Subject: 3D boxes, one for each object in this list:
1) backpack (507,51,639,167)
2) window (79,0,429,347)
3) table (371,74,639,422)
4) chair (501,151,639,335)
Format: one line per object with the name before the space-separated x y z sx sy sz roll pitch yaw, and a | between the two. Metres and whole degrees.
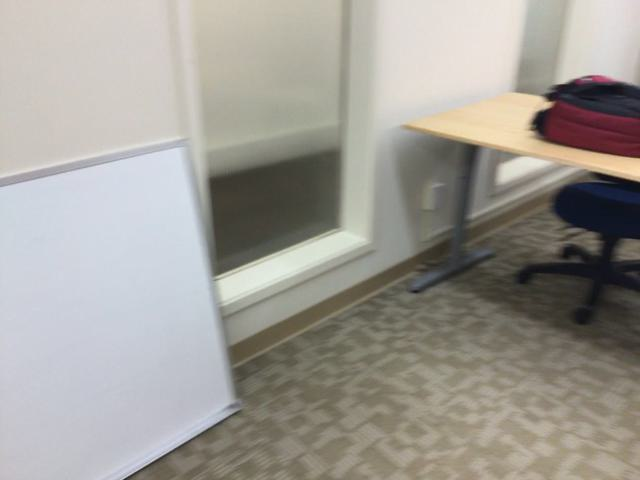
backpack | 0.960 -0.440 1.850 0.490 0.220 0.510 -28 32 -35
window | -0.150 -0.480 1.900 0.870 1.380 0.270 -35 30 -32
table | 1.140 -0.020 2.040 0.860 0.870 1.700 -28 32 -35
chair | 1.200 -0.020 2.410 0.560 0.470 0.650 -28 32 -35
